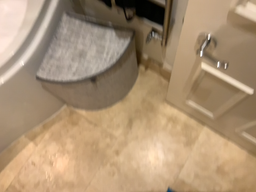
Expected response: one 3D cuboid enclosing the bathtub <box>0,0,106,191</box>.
[{"bbox_3d":[-0.980,0.010,1.180,0.900,0.610,1.600,29,76,13],"label":"bathtub"}]
